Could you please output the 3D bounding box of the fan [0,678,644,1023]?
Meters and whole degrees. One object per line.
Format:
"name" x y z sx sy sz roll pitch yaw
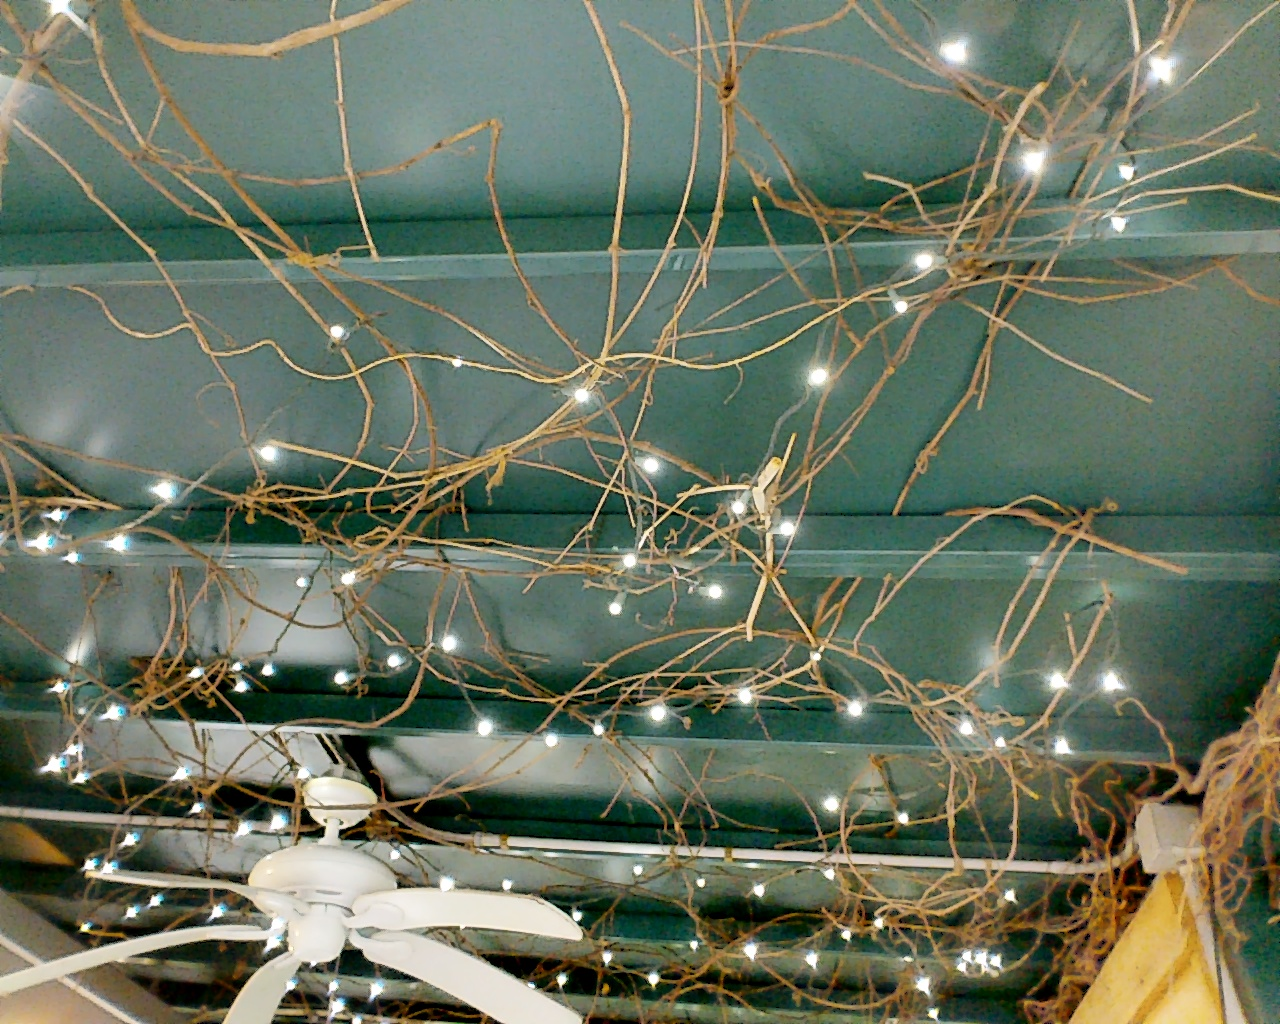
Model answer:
"fan" -0.690 0.830 2.210 1.259 0.310 1.170 -5 -42 6
